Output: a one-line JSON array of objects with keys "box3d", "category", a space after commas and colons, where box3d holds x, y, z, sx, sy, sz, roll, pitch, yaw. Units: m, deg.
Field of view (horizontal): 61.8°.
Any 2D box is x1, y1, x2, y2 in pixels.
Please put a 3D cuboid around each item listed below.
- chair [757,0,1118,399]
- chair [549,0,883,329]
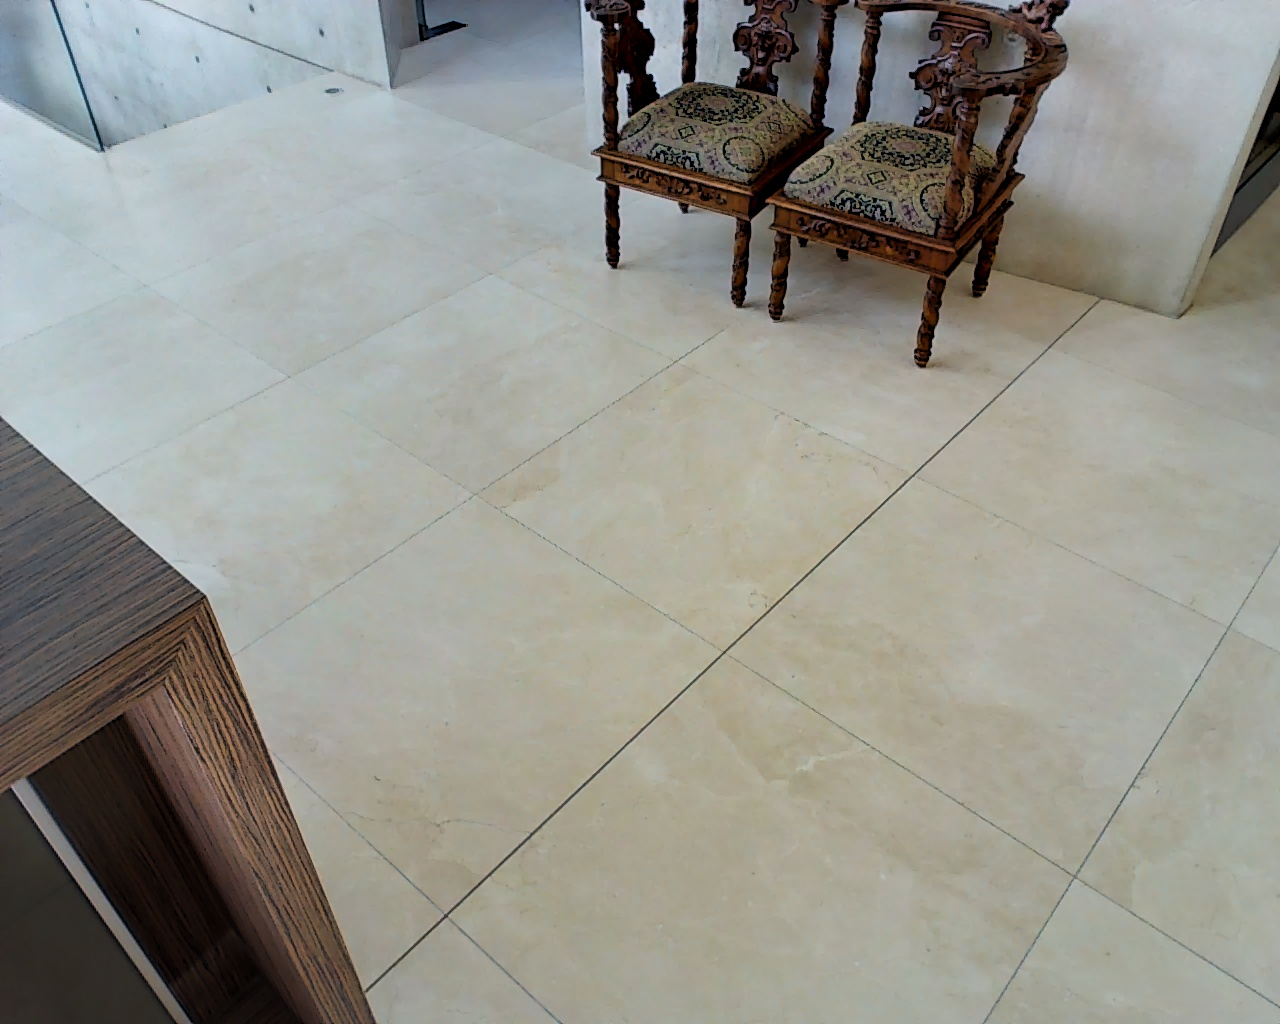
[{"box3d": [0.730, -0.870, 2.710, 0.580, 0.820, 0.640, 22, 46, 24], "category": "chair"}, {"box3d": [0.210, -1.050, 2.980, 0.630, 0.720, 0.620, 24, 47, 25], "category": "chair"}]
